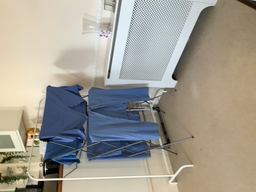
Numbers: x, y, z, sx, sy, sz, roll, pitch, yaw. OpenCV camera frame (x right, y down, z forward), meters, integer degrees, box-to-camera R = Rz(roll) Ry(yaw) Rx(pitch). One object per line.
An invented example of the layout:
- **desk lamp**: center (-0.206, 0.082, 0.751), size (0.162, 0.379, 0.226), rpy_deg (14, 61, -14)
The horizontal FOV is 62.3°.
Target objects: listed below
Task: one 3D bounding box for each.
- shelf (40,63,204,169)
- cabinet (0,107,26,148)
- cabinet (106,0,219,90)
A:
- **shelf**: center (-0.110, 0.220, 2.350), size (0.670, 1.450, 0.850), rpy_deg (107, 160, -47)
- **cabinet**: center (-1.780, 0.400, 2.630), size (0.480, 0.840, 0.310), rpy_deg (107, 160, -47)
- **cabinet**: center (0.250, -0.530, 1.990), size (0.210, 0.770, 1.070), rpy_deg (-102, 19, -43)
